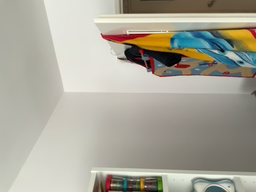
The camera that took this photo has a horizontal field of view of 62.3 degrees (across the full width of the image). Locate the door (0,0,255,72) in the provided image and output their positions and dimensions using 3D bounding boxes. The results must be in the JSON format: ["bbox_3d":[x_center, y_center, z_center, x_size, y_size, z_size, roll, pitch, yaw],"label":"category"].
[{"bbox_3d":[0.700,-0.230,1.030,0.850,2.510,0.110,17,-105,-86],"label":"door"}]
